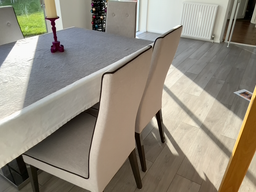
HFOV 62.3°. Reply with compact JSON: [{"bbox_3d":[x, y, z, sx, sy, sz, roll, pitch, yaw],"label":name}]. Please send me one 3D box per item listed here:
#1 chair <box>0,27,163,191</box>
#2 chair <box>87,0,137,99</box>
[{"bbox_3d":[-0.240,0.210,1.240,0.610,1.020,0.530,18,34,25],"label":"chair"},{"bbox_3d":[-0.160,-0.590,2.590,0.430,1.050,0.630,6,31,6],"label":"chair"}]
